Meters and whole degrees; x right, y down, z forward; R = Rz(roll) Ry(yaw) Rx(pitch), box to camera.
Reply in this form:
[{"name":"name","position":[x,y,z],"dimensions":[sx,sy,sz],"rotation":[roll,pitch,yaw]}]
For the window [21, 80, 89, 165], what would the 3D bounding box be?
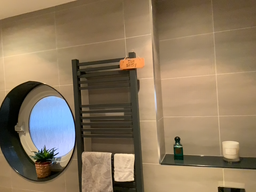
[{"name":"window","position":[-0.730,0.260,2.080],"dimensions":[0.690,0.770,0.080],"rotation":[-4,1,21]}]
